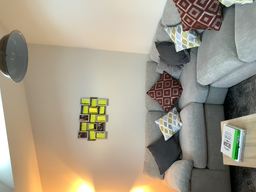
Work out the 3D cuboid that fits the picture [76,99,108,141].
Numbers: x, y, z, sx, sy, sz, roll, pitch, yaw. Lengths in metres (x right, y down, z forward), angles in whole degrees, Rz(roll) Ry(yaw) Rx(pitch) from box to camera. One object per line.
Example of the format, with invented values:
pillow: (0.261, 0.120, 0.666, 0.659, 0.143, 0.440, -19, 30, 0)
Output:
picture: (-0.570, 0.380, 3.430, 0.060, 0.470, 0.650, 119, 154, -74)
